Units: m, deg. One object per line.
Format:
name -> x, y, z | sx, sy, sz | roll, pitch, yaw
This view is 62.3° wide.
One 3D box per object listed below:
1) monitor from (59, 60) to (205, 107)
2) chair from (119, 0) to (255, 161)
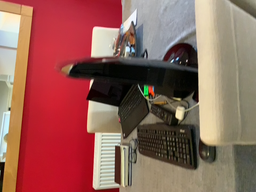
monitor -> -0.040, -0.070, 0.920 | 0.550, 0.440, 0.100 | -159, 76, -65
chair -> 0.510, 0.010, 0.920 | 0.570, 0.940, 0.420 | 161, 112, -64
